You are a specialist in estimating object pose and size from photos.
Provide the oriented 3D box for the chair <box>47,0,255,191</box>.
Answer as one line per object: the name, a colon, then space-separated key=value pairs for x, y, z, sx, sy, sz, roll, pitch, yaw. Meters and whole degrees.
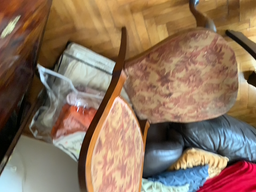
chair: x=0.160 y=-0.010 z=0.840 sx=0.520 sy=0.870 sz=0.420 roll=-15 pitch=128 yaw=15
